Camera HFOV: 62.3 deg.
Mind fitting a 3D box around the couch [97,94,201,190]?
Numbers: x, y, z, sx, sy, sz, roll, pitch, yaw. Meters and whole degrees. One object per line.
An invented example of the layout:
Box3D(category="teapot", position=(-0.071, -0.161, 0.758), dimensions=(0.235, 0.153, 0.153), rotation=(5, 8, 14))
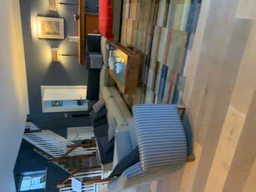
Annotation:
Box3D(category="couch", position=(0.130, 0.610, 2.660), dimensions=(1.090, 0.830, 0.890), rotation=(122, 144, -60))
